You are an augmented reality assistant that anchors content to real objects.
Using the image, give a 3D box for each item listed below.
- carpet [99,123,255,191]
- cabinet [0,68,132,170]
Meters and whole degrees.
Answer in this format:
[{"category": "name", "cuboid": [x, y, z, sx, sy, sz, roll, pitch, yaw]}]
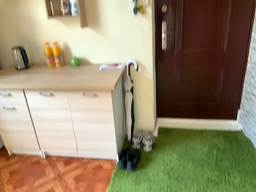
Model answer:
[{"category": "carpet", "cuboid": [0.470, 0.750, 1.620, 1.370, 0.050, 1.880, 2, 24, 12]}, {"category": "cabinet", "cuboid": [-0.700, 0.180, 2.210, 1.370, 0.810, 0.570, 2, 24, 12]}]
